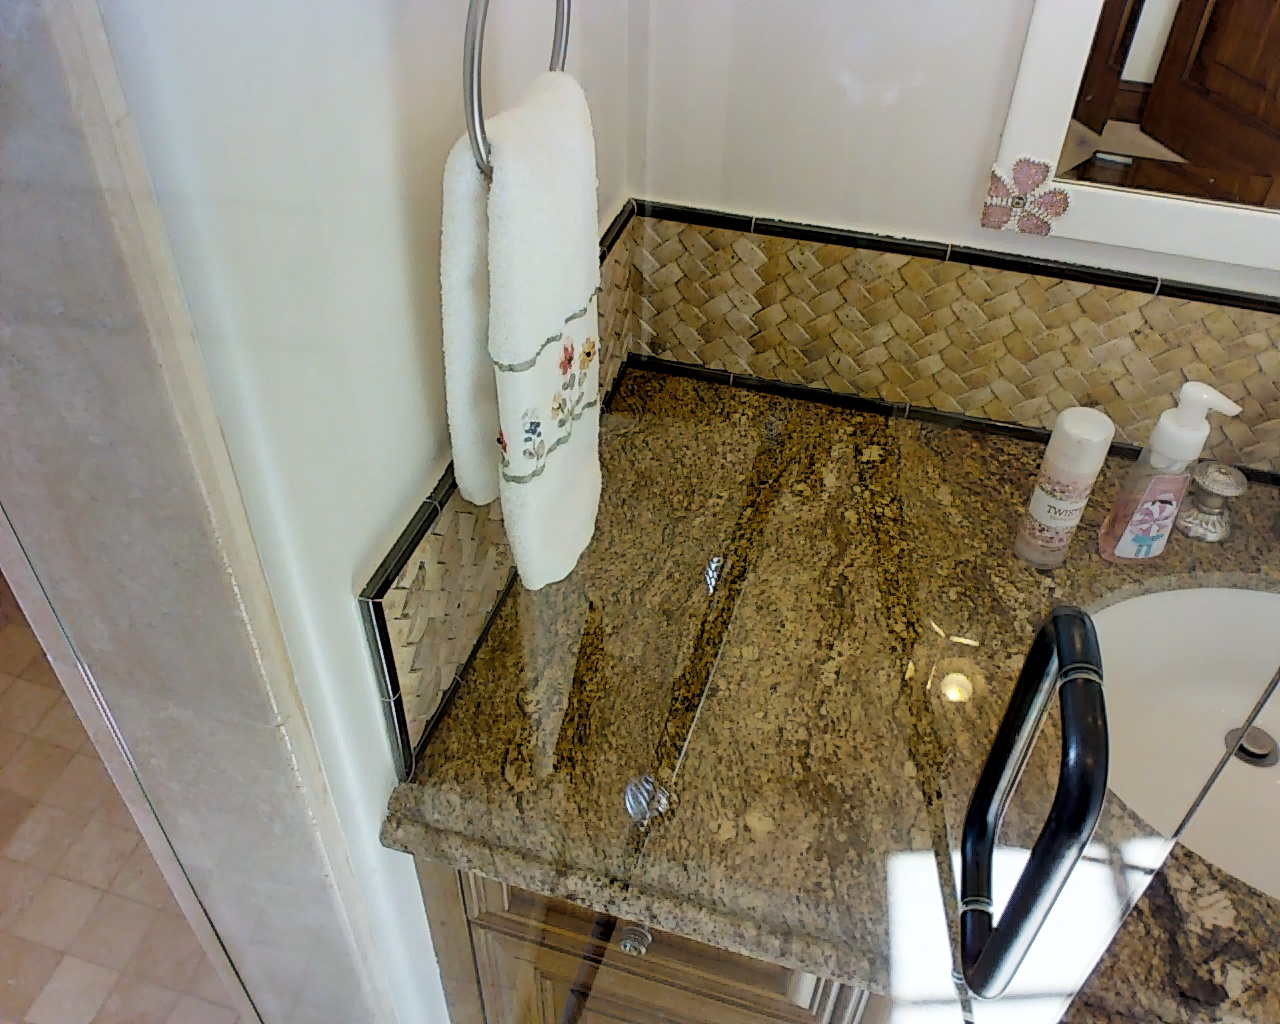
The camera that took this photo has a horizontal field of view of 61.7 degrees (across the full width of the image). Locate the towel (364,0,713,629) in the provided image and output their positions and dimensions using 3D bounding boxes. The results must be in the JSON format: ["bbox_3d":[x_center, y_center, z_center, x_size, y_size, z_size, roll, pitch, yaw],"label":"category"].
[{"bbox_3d":[-0.050,-0.150,0.780,0.120,0.340,0.300,12,42,12],"label":"towel"}]
